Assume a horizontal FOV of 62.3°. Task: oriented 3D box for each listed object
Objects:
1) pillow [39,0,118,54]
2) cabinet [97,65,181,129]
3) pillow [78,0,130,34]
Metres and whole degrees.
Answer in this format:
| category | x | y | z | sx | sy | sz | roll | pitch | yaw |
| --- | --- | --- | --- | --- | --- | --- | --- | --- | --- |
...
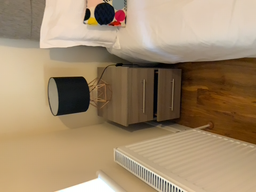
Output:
| category | x | y | z | sx | sy | sz | roll | pitch | yaw |
| --- | --- | --- | --- | --- | --- | --- | --- | --- | --- |
| pillow | -0.310 | -0.680 | 1.350 | 0.170 | 0.470 | 0.780 | -155 | 66 | -68 |
| cabinet | 0.080 | -0.030 | 1.700 | 0.430 | 0.510 | 0.420 | 11 | 103 | 54 |
| pillow | -0.150 | -0.710 | 1.310 | 0.140 | 0.300 | 0.590 | 172 | 99 | -77 |
